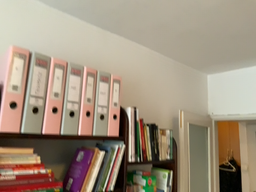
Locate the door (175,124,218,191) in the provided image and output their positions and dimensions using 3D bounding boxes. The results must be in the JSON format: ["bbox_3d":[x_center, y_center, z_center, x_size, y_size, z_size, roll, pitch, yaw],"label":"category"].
[{"bbox_3d":[0.620,1.200,1.840,0.100,1.850,0.690,-6,-13,40],"label":"door"}]

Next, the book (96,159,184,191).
[{"bbox_3d":[0.100,0.540,1.360,0.270,0.210,0.540,-7,-14,44],"label":"book"}]

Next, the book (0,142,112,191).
[{"bbox_3d":[-0.380,0.330,0.990,0.490,0.200,0.340,11,-13,-39],"label":"book"}]

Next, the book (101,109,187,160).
[{"bbox_3d":[0.120,0.260,1.430,0.500,0.270,0.310,11,-13,-39],"label":"book"}]
